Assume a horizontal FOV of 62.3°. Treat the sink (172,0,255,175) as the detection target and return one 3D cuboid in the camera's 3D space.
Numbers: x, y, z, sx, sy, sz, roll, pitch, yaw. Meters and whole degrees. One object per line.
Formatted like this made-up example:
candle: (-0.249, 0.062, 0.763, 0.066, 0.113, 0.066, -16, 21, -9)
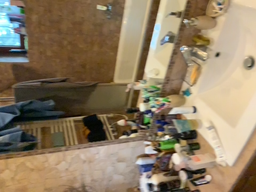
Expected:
sink: (0.500, -0.120, 0.960, 0.470, 0.190, 0.790, -126, 40, -53)
